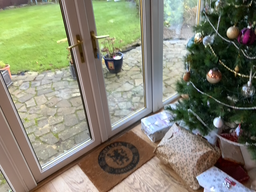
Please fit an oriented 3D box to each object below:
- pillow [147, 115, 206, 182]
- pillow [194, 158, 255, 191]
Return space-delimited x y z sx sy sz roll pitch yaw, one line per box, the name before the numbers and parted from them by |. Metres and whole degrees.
pillow | 0.390 0.410 1.690 0.230 0.330 0.370 -40 47 -19
pillow | 0.650 0.650 1.410 0.390 0.180 0.350 7 34 20
